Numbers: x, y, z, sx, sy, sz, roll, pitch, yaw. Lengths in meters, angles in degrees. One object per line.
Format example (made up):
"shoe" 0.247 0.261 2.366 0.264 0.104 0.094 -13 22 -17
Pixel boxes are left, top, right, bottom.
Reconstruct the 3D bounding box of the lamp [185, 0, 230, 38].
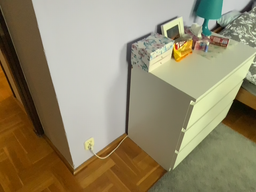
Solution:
"lamp" 0.610 -0.640 1.620 0.190 0.290 0.210 34 50 30
